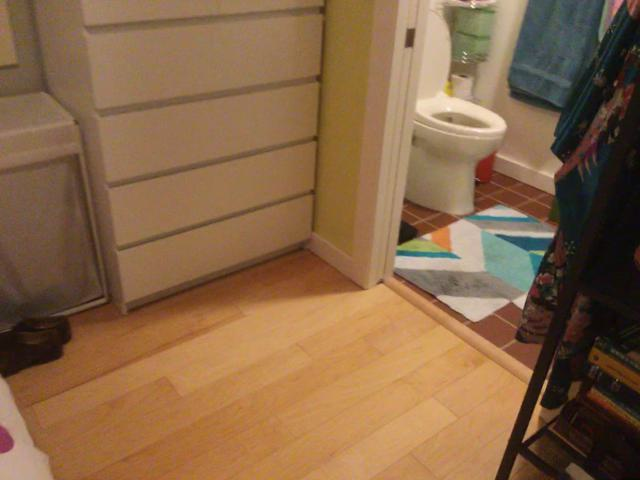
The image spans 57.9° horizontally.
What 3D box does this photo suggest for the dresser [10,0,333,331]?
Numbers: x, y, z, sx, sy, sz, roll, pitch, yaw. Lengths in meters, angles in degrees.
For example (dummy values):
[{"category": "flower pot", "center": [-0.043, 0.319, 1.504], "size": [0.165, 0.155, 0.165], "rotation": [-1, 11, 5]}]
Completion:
[{"category": "dresser", "center": [-0.450, -0.460, 1.950], "size": [0.850, 1.230, 0.480], "rotation": [-19, 35, -33]}]
